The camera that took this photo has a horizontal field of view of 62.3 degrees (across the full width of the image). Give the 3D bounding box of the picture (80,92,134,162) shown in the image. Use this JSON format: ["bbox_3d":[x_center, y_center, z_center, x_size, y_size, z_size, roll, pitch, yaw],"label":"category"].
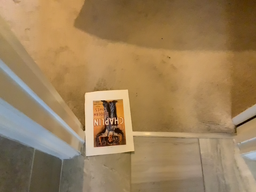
[{"bbox_3d":[-0.100,0.130,0.950,0.200,0.010,0.290,-9,68,-5],"label":"picture"}]
